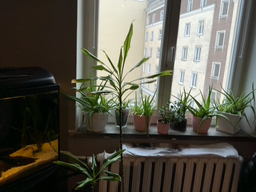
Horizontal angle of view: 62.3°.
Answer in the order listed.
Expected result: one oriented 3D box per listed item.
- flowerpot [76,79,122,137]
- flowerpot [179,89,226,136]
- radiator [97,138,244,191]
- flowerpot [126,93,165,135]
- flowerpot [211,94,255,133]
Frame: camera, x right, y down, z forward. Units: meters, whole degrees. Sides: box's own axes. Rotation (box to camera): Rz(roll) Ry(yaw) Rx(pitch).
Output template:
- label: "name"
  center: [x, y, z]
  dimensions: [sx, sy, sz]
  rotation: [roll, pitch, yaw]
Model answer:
- label: "flowerpot"
  center: [-0.240, 0.090, 1.710]
  dimensions: [0.320, 0.400, 0.280]
  rotation: [2, 12, -11]
- label: "flowerpot"
  center: [0.640, 0.140, 1.850]
  dimensions: [0.270, 0.350, 0.220]
  rotation: [2, 12, -9]
- label: "radiator"
  center: [0.310, 0.750, 1.760]
  dimensions: [1.110, 0.730, 0.270]
  rotation: [2, 12, -11]
- label: "flowerpot"
  center: [0.140, 0.150, 1.830]
  dimensions: [0.270, 0.290, 0.250]
  rotation: [3, 12, -7]
- label: "flowerpot"
  center: [0.930, 0.150, 1.910]
  dimensions: [0.200, 0.270, 0.270]
  rotation: [2, 12, -8]
